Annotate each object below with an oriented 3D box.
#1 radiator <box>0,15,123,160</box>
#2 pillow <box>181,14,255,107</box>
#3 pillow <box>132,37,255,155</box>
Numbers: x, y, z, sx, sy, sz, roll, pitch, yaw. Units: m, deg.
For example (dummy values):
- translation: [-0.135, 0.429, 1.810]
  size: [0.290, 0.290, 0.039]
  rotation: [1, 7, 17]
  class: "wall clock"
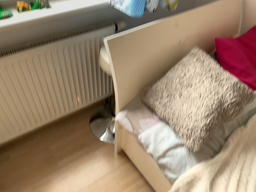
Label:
- translation: [-0.540, -0.020, 1.360]
  size: [1.080, 0.750, 0.140]
  rotation: [-24, 53, -25]
  class: "radiator"
- translation: [0.710, -0.260, 1.390]
  size: [0.440, 0.250, 0.500]
  rotation: [-28, 55, -28]
  class: "pillow"
- translation: [0.350, -0.030, 1.120]
  size: [0.540, 0.280, 0.350]
  rotation: [-27, 55, -27]
  class: "pillow"
